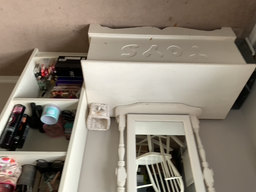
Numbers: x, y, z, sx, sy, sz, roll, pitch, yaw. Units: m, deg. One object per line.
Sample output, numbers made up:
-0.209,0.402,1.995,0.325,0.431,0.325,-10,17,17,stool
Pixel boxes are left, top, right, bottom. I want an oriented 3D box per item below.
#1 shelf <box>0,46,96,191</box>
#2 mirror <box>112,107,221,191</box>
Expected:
-0.460,0.150,1.220,0.440,1.050,0.270,1,139,-3,shelf
0.180,0.330,1.200,0.530,0.570,0.120,2,139,-3,mirror
